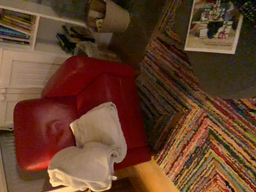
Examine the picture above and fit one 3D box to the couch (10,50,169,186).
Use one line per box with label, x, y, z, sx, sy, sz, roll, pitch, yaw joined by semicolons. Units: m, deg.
couch;-0.360;0.220;1.680;0.880;0.840;0.720;-27;69;48
